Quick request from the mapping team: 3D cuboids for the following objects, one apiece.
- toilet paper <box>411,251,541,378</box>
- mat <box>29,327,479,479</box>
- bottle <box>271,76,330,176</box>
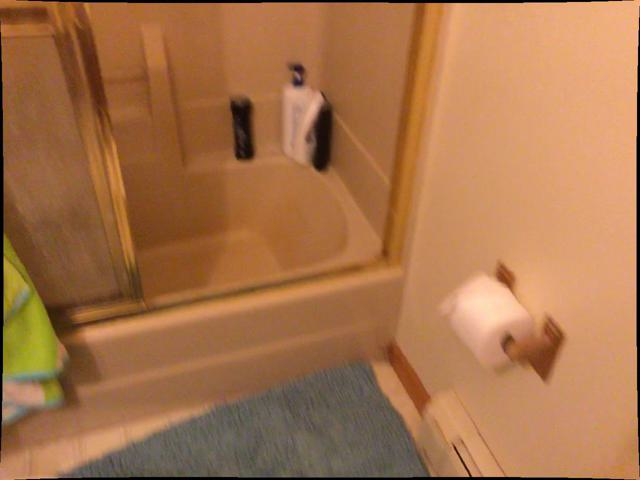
[{"bbox_3d":[0.290,0.140,1.100,0.160,0.150,0.150,-10,41,-16],"label":"toilet paper"},{"bbox_3d":[-0.140,0.591,1.360,0.939,0.080,0.630,-15,42,-22],"label":"mat"},{"bbox_3d":[-0.070,-0.380,1.920,0.140,0.260,0.180,-10,41,-16],"label":"bottle"}]
